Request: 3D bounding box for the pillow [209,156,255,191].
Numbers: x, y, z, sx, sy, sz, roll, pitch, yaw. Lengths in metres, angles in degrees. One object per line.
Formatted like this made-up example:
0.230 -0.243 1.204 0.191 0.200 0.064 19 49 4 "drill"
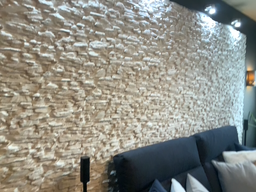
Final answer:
1.020 0.820 1.950 0.310 0.390 0.280 2 24 -32 "pillow"
